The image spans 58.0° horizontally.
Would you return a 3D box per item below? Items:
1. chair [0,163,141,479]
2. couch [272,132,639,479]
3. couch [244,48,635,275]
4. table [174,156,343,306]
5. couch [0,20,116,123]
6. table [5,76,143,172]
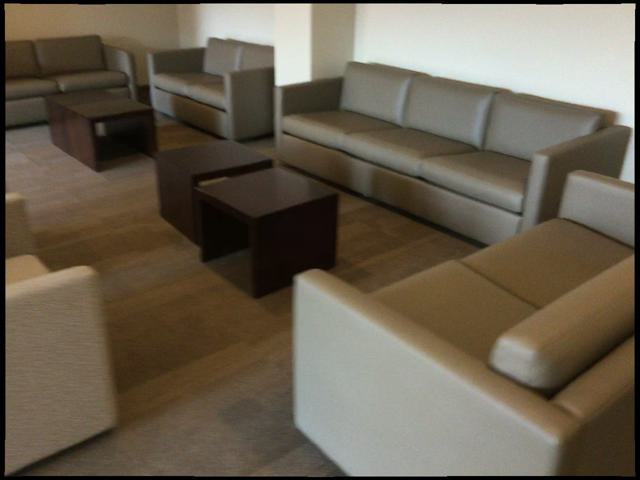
[{"bbox_3d":[-1.237,0.311,1.800,0.859,0.731,0.999,-22,35,-38],"label":"chair"},{"bbox_3d":[0.778,0.251,1.930,1.629,0.731,0.949,-22,35,-38],"label":"couch"},{"bbox_3d":[0.589,-0.701,3.860,0.929,0.741,2.388,-22,35,-38],"label":"couch"},{"bbox_3d":[-0.309,-0.080,2.910,0.559,0.431,0.620,-22,35,-38],"label":"table"},{"bbox_3d":[-2.954,-1.593,5.430,1.648,0.721,0.879,-22,35,-38],"label":"couch"},{"bbox_3d":[-1.946,-0.952,4.550,0.599,0.431,1.049,-22,35,-38],"label":"table"}]
